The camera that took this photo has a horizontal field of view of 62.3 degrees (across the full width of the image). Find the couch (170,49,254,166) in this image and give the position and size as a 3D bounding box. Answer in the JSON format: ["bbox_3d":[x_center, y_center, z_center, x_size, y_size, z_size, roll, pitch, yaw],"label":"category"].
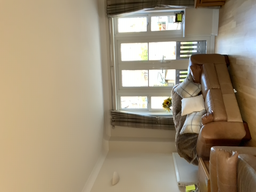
[{"bbox_3d":[1.180,0.170,3.430,0.980,0.830,1.580,81,-169,-54],"label":"couch"}]
